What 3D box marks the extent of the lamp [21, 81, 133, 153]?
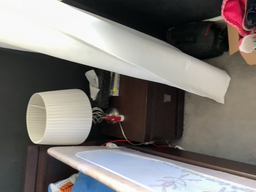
[{"bbox_3d":[-0.270,0.100,1.170,0.330,0.470,0.300,3,88,47],"label":"lamp"}]
